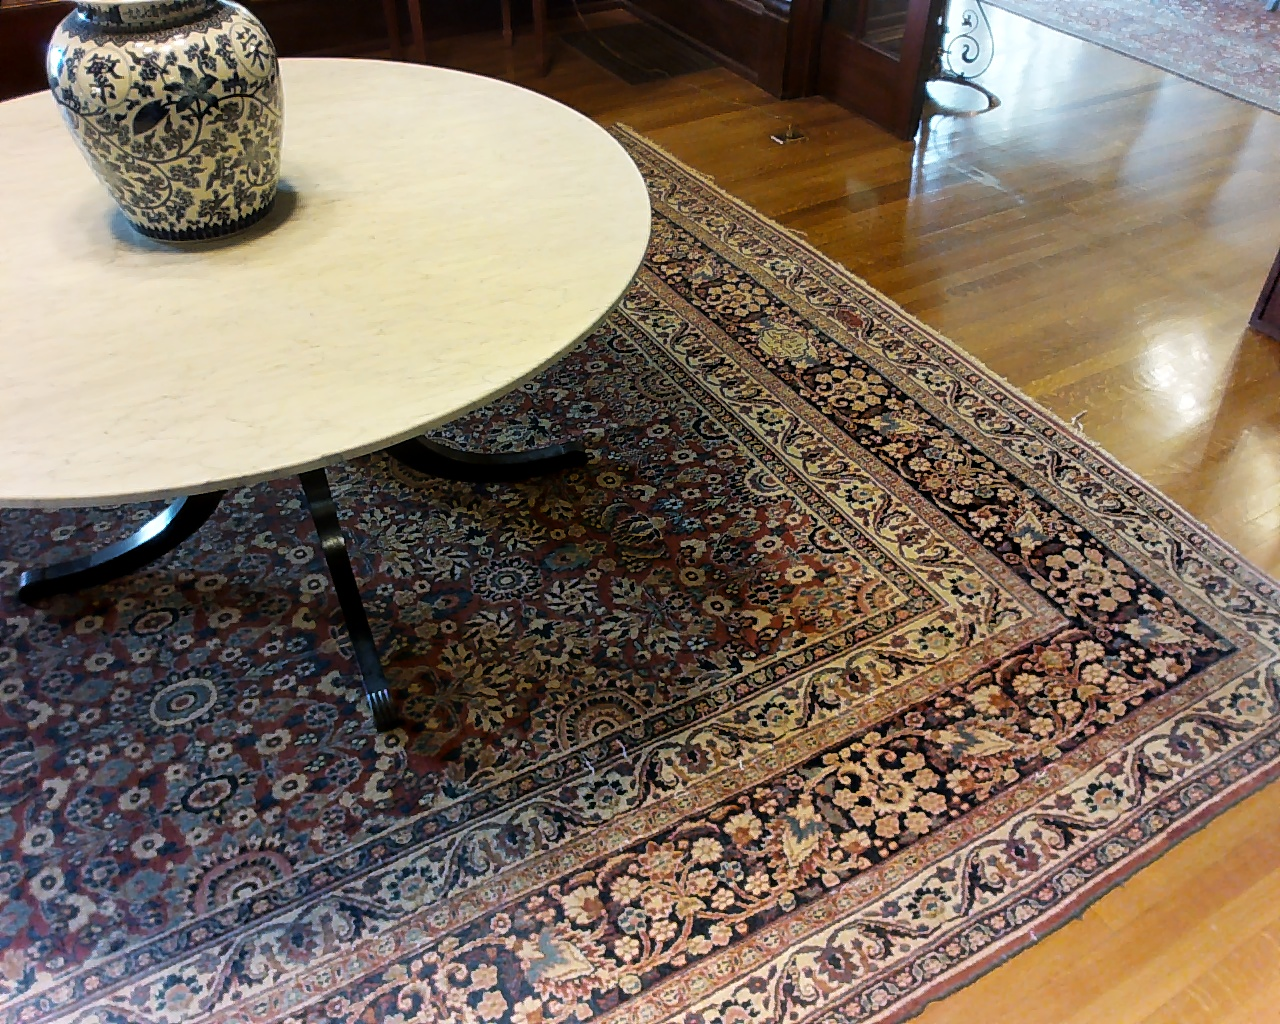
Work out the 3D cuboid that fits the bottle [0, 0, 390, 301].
[{"bbox_3d":[-0.740,-0.720,1.700,0.440,0.500,0.470,-27,48,-27],"label":"bottle"}]
